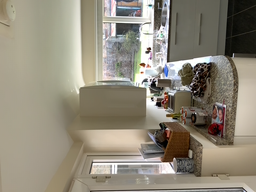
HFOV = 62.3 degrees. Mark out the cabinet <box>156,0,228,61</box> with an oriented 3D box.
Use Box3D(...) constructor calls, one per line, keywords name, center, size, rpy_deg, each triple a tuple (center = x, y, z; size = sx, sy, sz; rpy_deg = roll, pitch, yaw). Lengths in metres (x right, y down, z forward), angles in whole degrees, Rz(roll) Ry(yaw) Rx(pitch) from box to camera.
Box3D(name="cabinet", center=(0.980, -1.070, 3.410), size=(0.580, 0.900, 0.950), rpy_deg=(-112, 23, -78))
